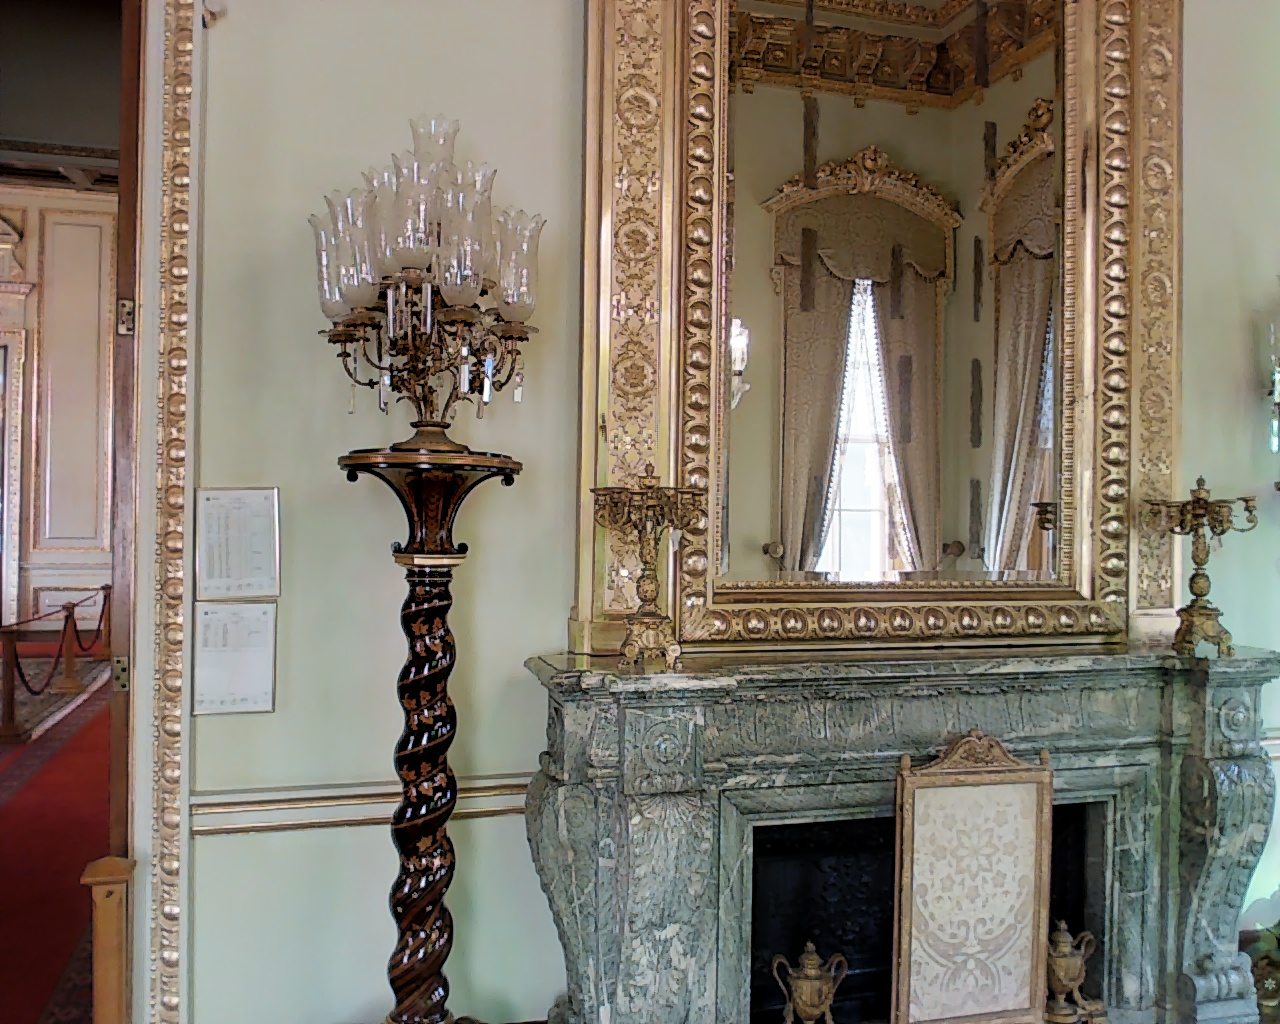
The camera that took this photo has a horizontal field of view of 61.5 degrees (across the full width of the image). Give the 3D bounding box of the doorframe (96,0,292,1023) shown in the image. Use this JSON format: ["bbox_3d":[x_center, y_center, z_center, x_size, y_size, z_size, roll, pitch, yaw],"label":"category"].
[{"bbox_3d":[-1.189,-0.170,2.890,0.460,3.752,0.090,0,0,-16],"label":"doorframe"}]
